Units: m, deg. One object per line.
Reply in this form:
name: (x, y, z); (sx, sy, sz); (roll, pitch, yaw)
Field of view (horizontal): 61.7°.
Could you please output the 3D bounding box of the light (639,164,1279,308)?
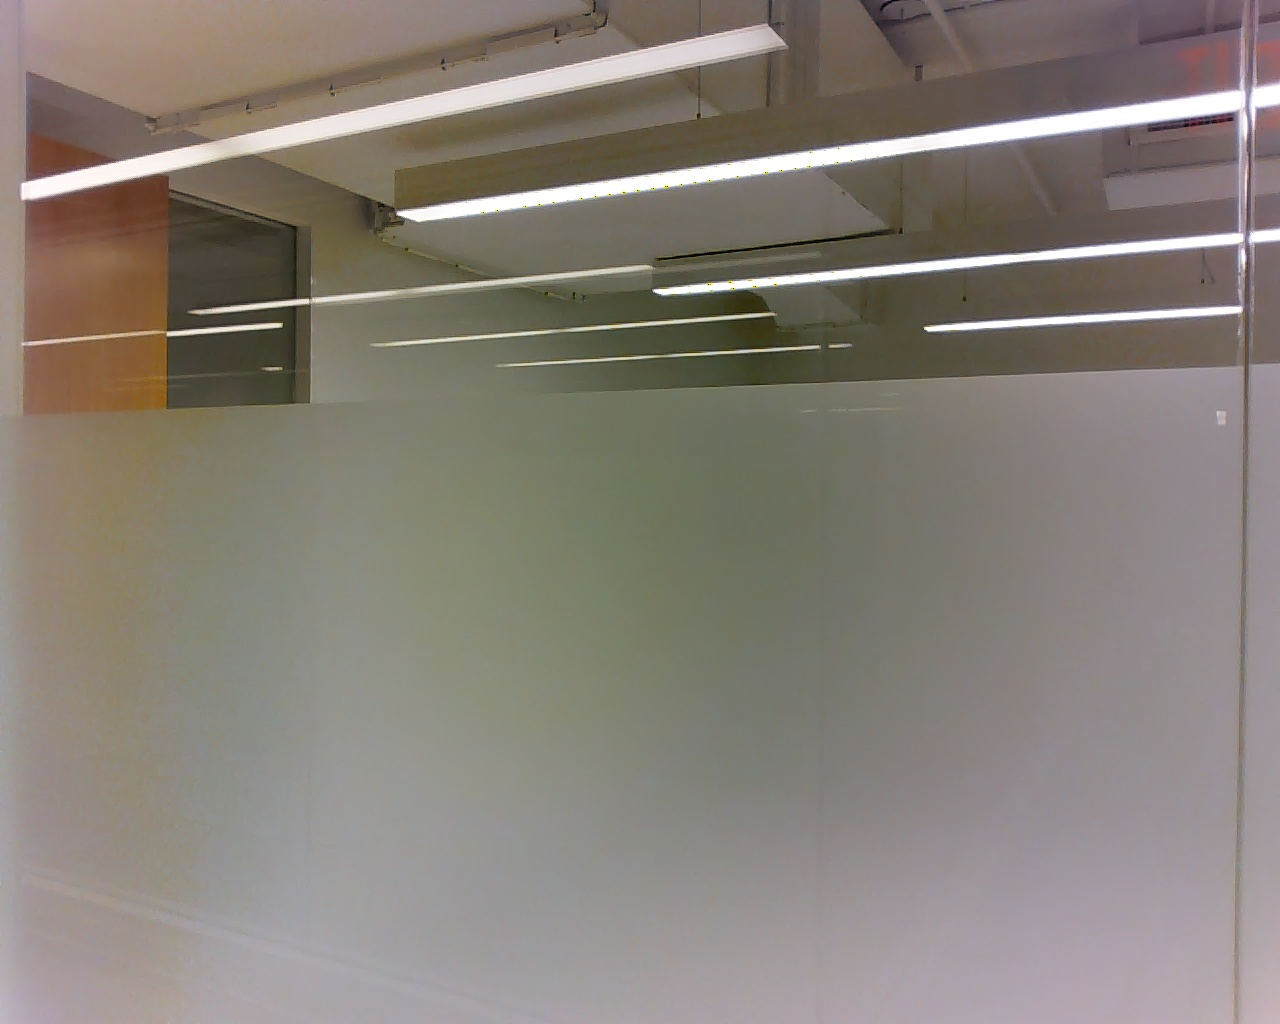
light: (1.130, -0.820, 3.190); (2.480, 0.200, 0.160); (1, 1, 28)
